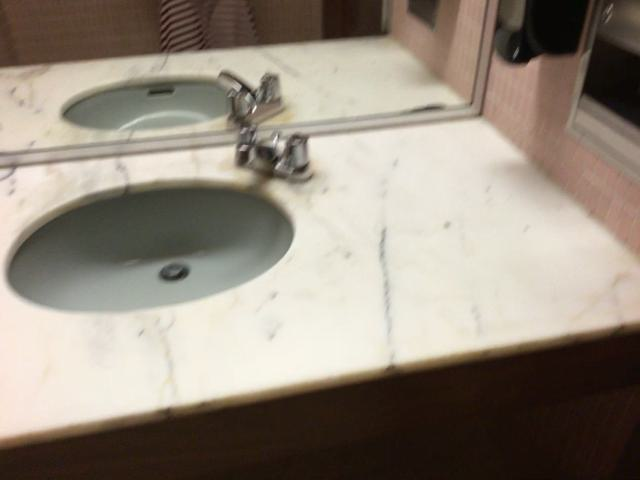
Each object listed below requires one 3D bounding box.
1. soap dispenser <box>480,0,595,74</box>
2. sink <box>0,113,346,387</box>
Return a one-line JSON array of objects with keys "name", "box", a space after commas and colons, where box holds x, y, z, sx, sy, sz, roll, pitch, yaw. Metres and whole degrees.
[{"name": "soap dispenser", "box": [0.320, -0.380, 0.830, 0.100, 0.240, 0.120, -8, 34, -11]}, {"name": "sink", "box": [-0.230, -0.010, 0.920, 0.470, 0.240, 0.320, -8, 34, -11]}]
